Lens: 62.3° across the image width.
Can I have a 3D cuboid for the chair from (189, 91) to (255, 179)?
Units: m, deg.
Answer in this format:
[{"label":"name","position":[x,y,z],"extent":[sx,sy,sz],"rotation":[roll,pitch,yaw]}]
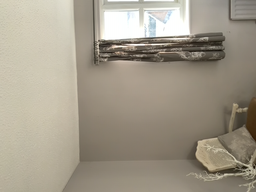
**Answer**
[{"label":"chair","position":[1.220,0.380,2.130],"extent":[0.550,0.970,0.660],"rotation":[-91,1,-56]}]
